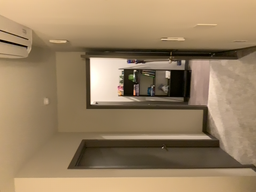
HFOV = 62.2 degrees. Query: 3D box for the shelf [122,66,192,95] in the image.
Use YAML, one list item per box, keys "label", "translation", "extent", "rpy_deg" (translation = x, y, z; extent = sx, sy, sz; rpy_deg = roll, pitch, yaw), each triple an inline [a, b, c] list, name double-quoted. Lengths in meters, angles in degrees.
- label: "shelf"
  translation: [0.650, -0.360, 4.890]
  extent: [0.260, 1.550, 0.650]
  rpy_deg: [-110, 21, -82]
